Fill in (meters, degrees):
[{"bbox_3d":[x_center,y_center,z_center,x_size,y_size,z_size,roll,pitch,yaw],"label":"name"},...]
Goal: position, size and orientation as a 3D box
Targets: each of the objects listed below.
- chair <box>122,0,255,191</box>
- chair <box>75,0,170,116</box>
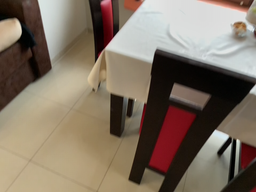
[{"bbox_3d":[0.270,0.100,1.130,0.390,1.020,0.500,18,48,10],"label":"chair"},{"bbox_3d":[-0.040,-0.400,1.620,0.510,1.070,0.390,19,49,12],"label":"chair"}]
